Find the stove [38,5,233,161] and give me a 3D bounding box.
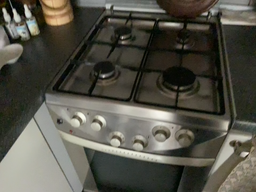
[{"bbox_3d":[0.070,-0.120,0.800,0.500,0.180,0.600,8,46,11],"label":"stove"}]
